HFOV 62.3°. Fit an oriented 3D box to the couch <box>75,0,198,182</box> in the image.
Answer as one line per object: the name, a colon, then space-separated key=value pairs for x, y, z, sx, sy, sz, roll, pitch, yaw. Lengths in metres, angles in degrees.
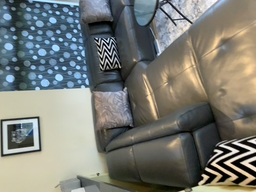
couch: x=-0.100 y=-0.540 z=2.830 sx=1.070 sy=0.750 sz=2.980 roll=142 pitch=121 yaw=-61

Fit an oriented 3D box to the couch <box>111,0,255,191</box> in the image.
couch: x=0.520 y=0.030 z=1.530 sx=1.340 sy=0.760 sz=1.040 roll=142 pitch=121 yaw=-61
